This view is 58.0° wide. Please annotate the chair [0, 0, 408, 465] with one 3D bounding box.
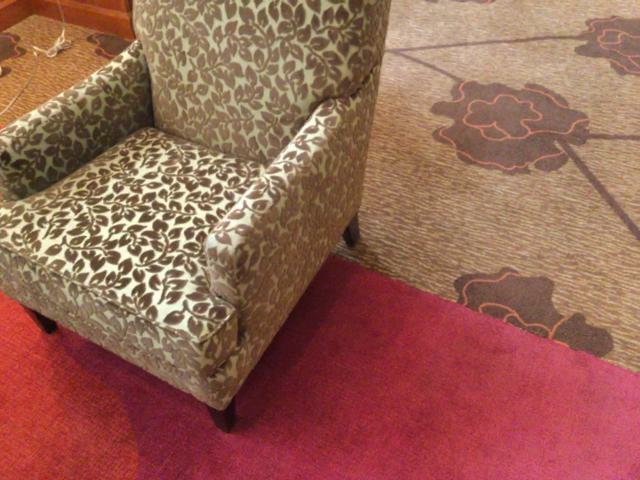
[{"bbox_3d":[-0.340,-0.220,1.420,0.760,0.950,0.900,21,49,21],"label":"chair"}]
